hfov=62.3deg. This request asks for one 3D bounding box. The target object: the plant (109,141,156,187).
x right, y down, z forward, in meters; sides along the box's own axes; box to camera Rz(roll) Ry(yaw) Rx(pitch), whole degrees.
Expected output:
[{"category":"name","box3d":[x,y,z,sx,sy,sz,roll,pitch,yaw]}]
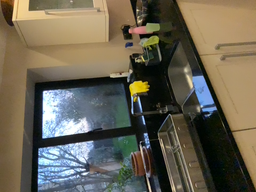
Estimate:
[{"category":"plant","box3d":[0.020,0.530,1.640,0.220,0.300,0.260,101,160,-61]}]
